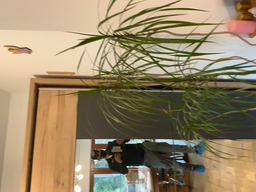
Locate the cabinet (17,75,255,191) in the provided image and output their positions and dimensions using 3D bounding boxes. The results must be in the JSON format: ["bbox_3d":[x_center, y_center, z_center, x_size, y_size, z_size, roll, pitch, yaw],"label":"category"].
[{"bbox_3d":[0.300,1.090,1.730,0.610,2.150,2.370,113,157,-77],"label":"cabinet"}]
